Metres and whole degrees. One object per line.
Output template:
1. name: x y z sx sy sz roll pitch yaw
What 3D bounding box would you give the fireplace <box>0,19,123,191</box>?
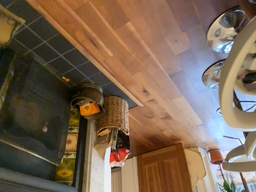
1. fireplace: -0.630 0.340 1.470 0.370 1.200 1.630 -22 141 23
